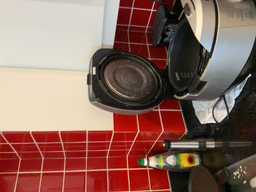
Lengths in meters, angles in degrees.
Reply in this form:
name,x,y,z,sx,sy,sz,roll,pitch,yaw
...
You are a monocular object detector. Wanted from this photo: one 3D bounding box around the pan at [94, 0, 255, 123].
name,x,y,z,sx,sy,sz,roll,pitch,yaw
pan,0.140,-0.130,0.710,0.410,0.490,0.290,107,161,-56
